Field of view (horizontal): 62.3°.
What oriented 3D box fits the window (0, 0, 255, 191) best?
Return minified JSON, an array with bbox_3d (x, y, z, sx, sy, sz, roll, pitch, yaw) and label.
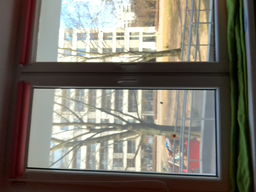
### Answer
[{"bbox_3d":[0.030,-0.090,1.420,0.120,1.680,1.360,55,-144,-82],"label":"window"}]
